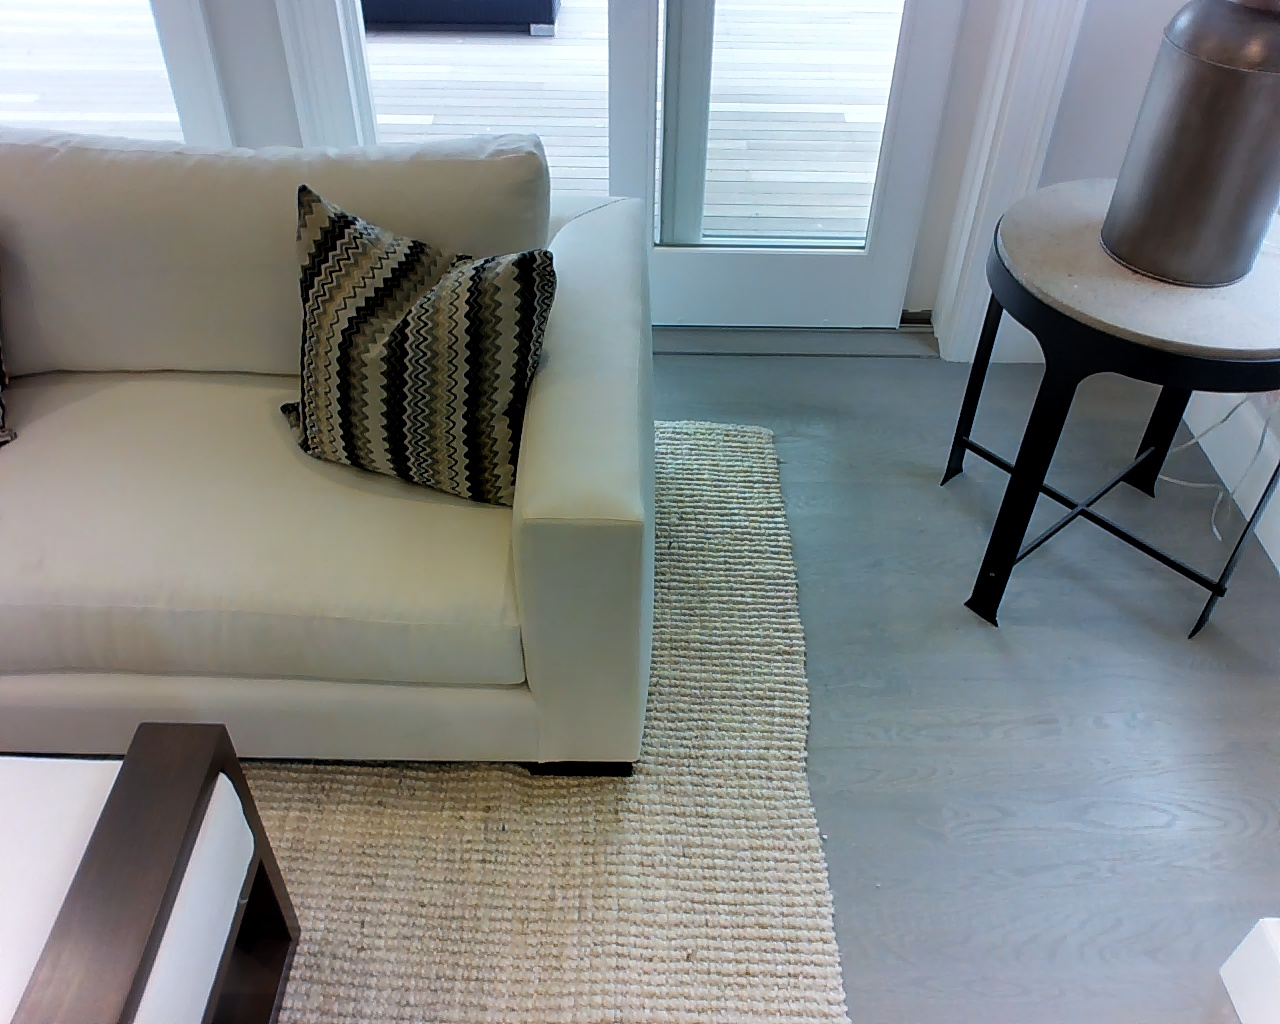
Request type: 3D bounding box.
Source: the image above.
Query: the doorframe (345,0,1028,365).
[{"bbox_3d":[0.100,-1.260,2.260,1.440,2.090,0.220,1,41,0],"label":"doorframe"}]

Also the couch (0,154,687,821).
[{"bbox_3d":[-1.230,-0.130,2.030,2.600,0.640,1.130,2,41,1],"label":"couch"}]

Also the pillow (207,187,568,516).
[{"bbox_3d":[-0.360,-0.250,1.690,0.440,0.390,0.280,5,41,4],"label":"pillow"}]
